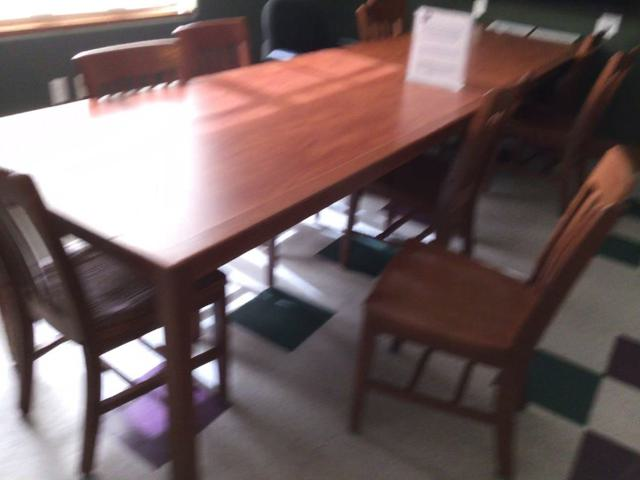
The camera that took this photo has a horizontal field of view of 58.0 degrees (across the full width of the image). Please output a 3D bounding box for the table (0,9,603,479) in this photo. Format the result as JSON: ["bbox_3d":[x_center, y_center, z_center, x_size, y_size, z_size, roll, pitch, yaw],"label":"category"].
[{"bbox_3d":[0.340,-0.440,2.700,1.000,0.800,3.640,22,33,26],"label":"table"}]
